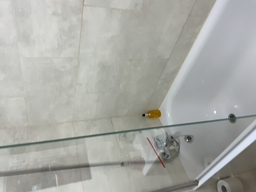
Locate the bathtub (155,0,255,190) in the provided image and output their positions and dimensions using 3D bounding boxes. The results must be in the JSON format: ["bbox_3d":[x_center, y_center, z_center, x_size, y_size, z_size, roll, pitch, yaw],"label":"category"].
[{"bbox_3d":[0.800,-0.180,1.200,1.650,0.560,0.680,110,148,-44],"label":"bathtub"}]
